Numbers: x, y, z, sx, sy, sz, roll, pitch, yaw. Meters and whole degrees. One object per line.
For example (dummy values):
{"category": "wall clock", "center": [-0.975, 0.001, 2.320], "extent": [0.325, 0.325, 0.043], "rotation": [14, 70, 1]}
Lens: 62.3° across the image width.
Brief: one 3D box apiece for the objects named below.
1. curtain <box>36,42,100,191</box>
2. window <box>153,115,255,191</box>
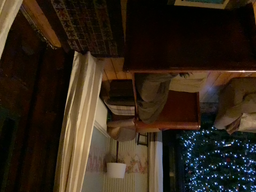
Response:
{"category": "curtain", "center": [-0.690, 1.020, 2.280], "extent": [0.380, 3.430, 0.440], "rotation": [0, 160, 8]}
{"category": "window", "center": [2.210, 2.440, 5.710], "extent": [3.040, 3.590, 1.190], "rotation": [0, 160, 5]}
